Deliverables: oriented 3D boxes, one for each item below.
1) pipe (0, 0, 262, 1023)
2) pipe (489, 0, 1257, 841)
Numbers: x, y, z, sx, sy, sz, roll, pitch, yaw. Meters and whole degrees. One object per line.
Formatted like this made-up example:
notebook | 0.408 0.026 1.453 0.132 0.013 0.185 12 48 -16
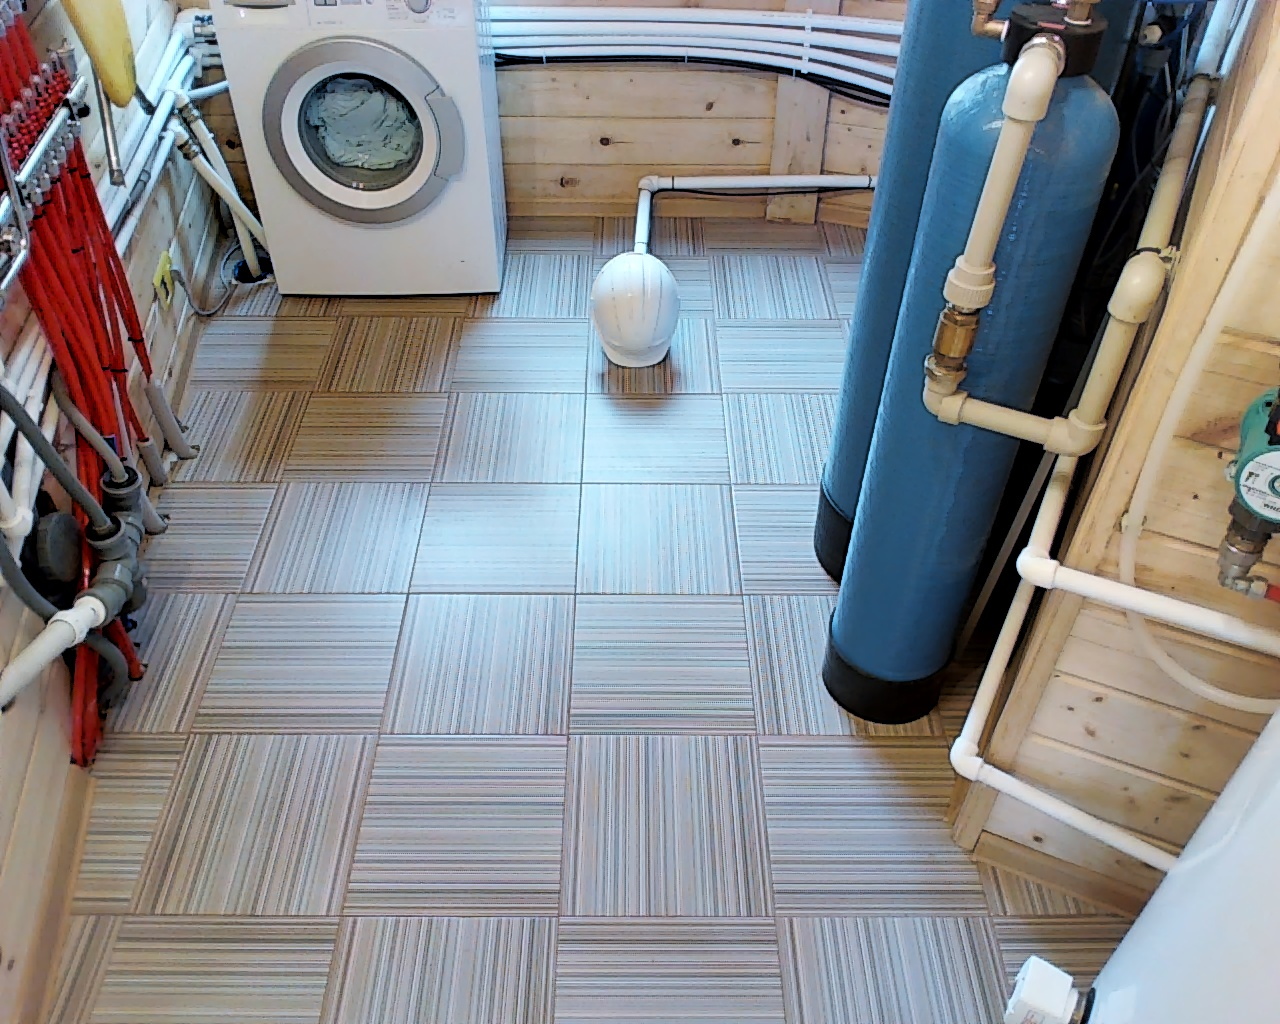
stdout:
pipe | -1.040 -1.110 1.400 0.270 2.860 2.470 -7 44 -8
pipe | 0.640 -0.840 1.940 0.760 1.780 2.020 20 47 20
